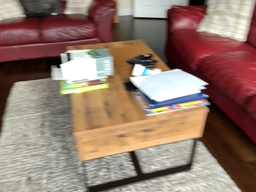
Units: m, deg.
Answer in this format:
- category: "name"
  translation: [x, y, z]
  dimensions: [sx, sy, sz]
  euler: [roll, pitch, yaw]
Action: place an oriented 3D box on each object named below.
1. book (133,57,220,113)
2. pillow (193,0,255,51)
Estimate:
- category: "book"
  translation: [0.220, -0.080, 1.090]
  dimensions: [0.300, 0.070, 0.380]
  euler: [-8, 35, -10]
- category: "pillow"
  translation: [0.950, -0.740, 2.040]
  dimensions: [0.420, 0.420, 0.240]
  euler: [43, 22, 16]
